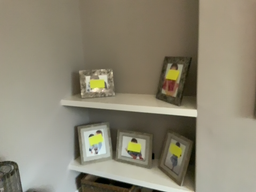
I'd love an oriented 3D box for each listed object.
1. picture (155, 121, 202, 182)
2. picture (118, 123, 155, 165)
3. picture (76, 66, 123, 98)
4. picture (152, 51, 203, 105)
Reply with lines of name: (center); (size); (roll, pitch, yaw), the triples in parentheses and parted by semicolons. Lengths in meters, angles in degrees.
picture: (0.440, 0.440, 1.790); (0.300, 0.320, 0.390); (4, 14, 26)
picture: (0.090, 0.440, 2.010); (0.270, 0.280, 0.240); (3, 14, 24)
picture: (-0.250, -0.140, 1.960); (0.310, 0.240, 0.290); (3, 14, 23)
picture: (0.400, -0.160, 1.680); (0.330, 0.360, 0.350); (3, 14, 23)
